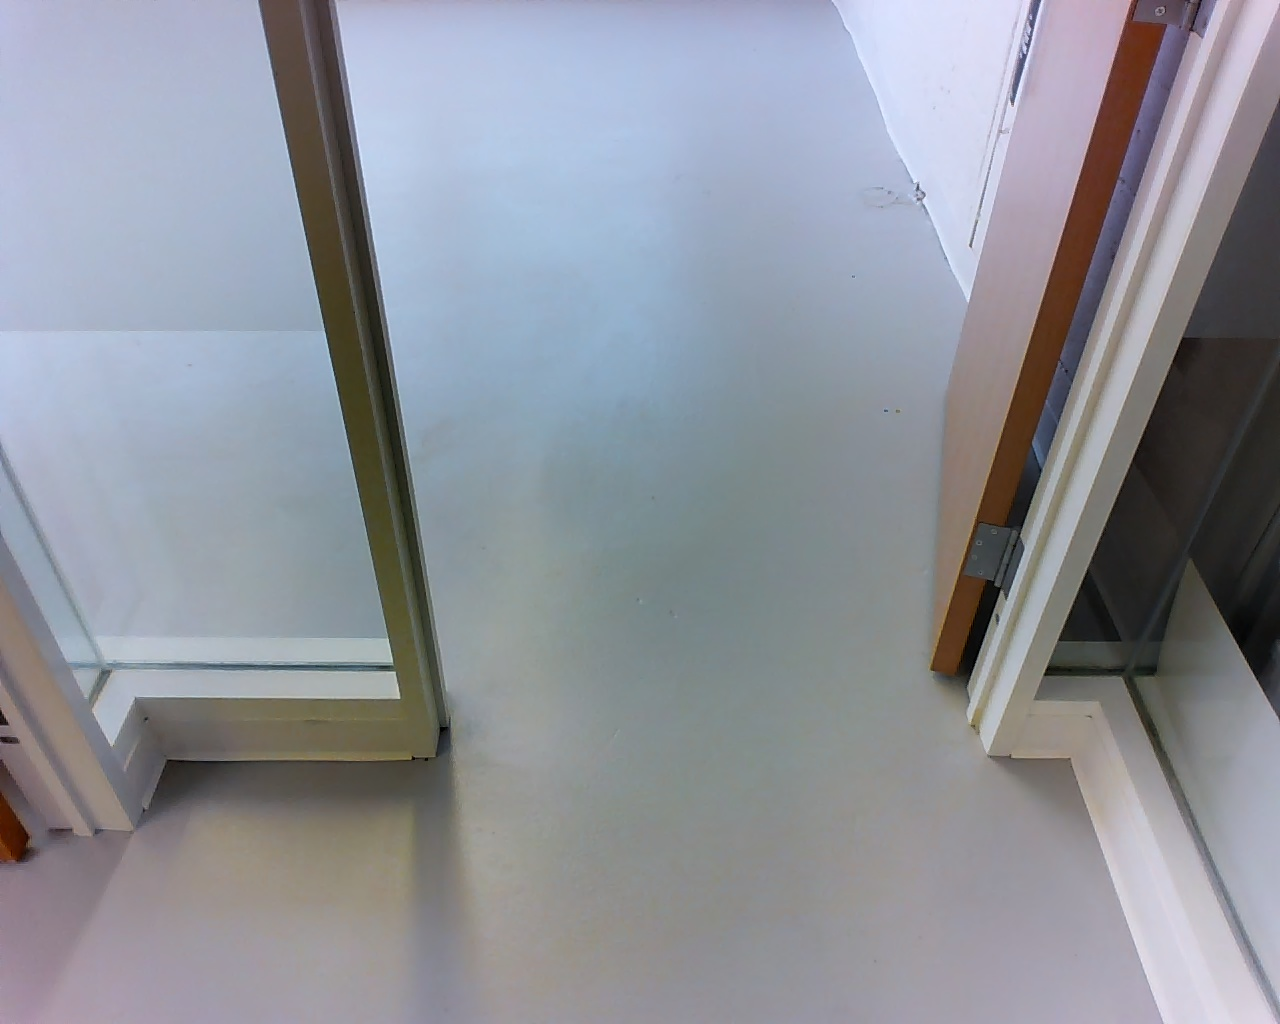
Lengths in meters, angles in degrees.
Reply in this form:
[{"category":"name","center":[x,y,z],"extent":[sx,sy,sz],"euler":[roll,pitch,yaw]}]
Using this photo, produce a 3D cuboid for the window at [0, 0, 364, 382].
[{"category":"window","center":[-0.580,-0.520,1.050],"extent":[0.460,0.930,0.030],"euler":[0,42,-1]}]
